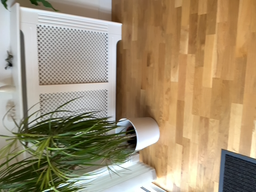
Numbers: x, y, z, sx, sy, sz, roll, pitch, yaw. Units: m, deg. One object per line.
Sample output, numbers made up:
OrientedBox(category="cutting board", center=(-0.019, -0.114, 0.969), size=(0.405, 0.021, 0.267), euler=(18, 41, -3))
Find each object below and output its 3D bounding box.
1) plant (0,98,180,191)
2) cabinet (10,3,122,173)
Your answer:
OrientedBox(category="plant", center=(-0.320, 0.390, 1.480), size=(0.650, 1.320, 0.560), euler=(9, 102, 50))
OrientedBox(category="cabinet", center=(-0.470, -0.070, 1.860), size=(0.170, 0.900, 1.220), euler=(12, 104, 49))
